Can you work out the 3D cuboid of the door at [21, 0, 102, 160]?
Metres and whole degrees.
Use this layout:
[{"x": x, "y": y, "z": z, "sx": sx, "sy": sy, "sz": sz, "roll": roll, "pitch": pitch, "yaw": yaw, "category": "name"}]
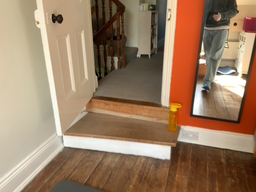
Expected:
[{"x": -0.450, "y": -0.830, "z": 1.540, "sx": 0.160, "sy": 2.430, "sz": 0.920, "roll": 3, "pitch": 22, "yaw": 8, "category": "door"}]
